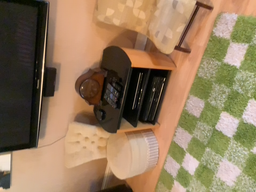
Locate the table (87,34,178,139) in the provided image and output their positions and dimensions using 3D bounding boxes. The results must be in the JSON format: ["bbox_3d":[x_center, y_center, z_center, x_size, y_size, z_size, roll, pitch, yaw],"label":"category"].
[{"bbox_3d":[0.000,-0.100,2.020,0.520,0.480,0.790,39,122,45],"label":"table"}]

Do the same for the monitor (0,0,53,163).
[{"bbox_3d":[-1.010,-0.050,1.550,0.090,0.750,1.330,37,121,46],"label":"monitor"}]

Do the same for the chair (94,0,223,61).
[{"bbox_3d":[0.200,-0.680,1.690,0.660,0.620,0.490,49,129,40],"label":"chair"}]
